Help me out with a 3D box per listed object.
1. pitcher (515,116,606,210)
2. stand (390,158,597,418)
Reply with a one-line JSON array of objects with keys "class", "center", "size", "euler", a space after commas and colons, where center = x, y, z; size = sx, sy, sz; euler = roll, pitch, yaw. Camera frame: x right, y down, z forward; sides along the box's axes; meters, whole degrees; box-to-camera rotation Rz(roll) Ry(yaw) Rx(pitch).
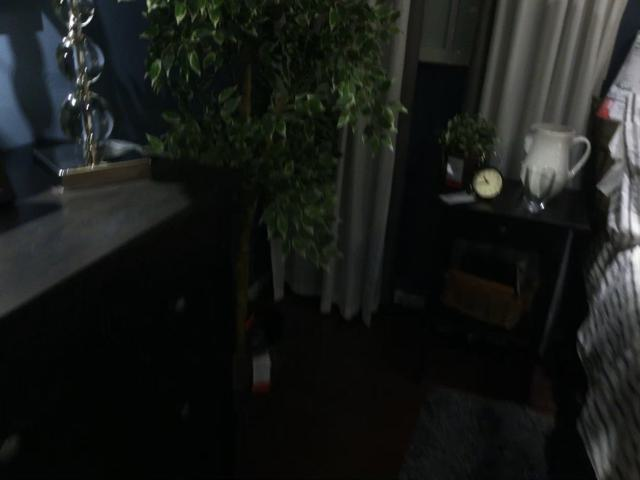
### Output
[{"class": "pitcher", "center": [0.730, -0.240, 1.760], "size": [0.210, 0.220, 0.190], "euler": [10, 27, 25]}, {"class": "stand", "center": [0.600, 0.120, 1.980], "size": [0.550, 0.670, 0.500], "euler": [6, 25, 26]}]
